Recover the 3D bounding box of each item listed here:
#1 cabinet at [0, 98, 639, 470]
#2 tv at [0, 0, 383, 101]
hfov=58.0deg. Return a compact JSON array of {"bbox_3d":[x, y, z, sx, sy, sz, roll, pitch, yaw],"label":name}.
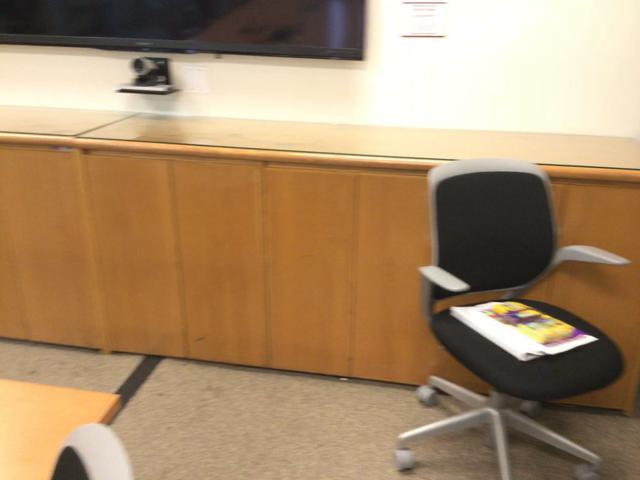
[{"bbox_3d":[-0.800,-0.020,2.420,4.270,0.960,0.730,6,19,10],"label":"cabinet"},{"bbox_3d":[-0.640,-1.180,2.270,1.800,1.090,0.150,7,19,10],"label":"tv"}]
